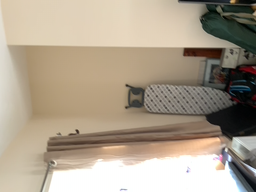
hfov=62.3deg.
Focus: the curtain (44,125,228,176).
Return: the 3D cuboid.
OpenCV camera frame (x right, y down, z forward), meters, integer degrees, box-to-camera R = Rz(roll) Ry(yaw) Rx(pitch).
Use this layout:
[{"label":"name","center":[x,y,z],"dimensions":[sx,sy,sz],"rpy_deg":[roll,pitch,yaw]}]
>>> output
[{"label":"curtain","center":[0.080,0.420,1.750],"dimensions":[0.290,1.400,0.210],"rpy_deg":[-121,31,-72]}]
